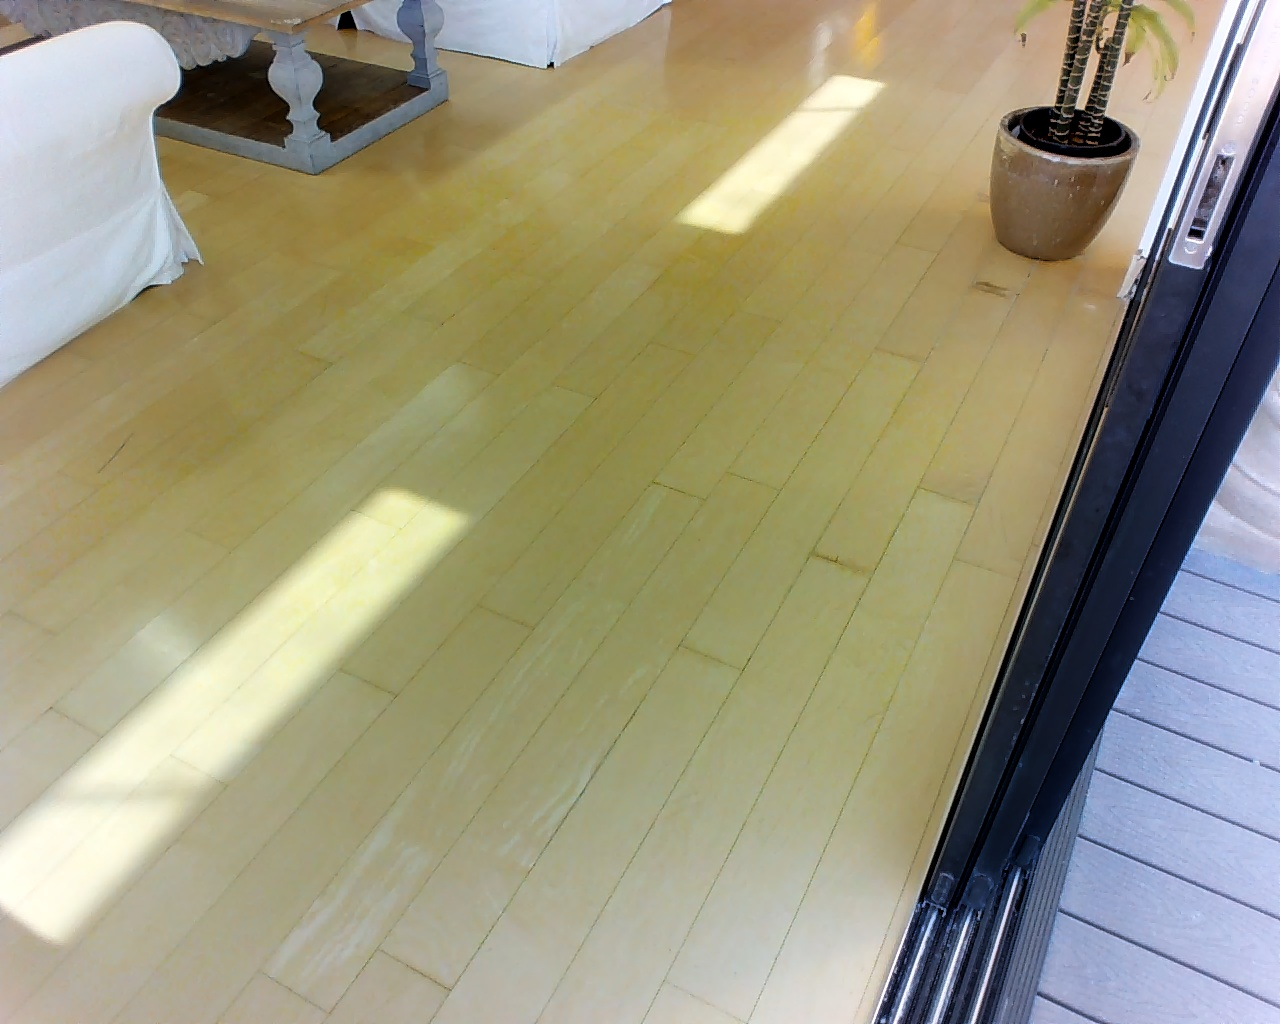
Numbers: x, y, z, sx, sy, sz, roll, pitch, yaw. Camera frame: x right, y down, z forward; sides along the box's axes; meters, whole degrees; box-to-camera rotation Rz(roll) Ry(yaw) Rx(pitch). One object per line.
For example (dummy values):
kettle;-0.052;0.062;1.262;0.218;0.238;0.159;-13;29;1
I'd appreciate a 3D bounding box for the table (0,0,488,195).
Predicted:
table;-1.620;-1.760;3.830;1.930;0.520;0.900;20;45;20
